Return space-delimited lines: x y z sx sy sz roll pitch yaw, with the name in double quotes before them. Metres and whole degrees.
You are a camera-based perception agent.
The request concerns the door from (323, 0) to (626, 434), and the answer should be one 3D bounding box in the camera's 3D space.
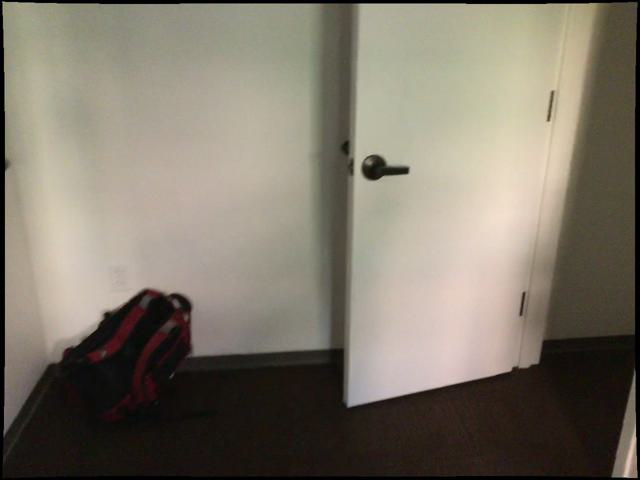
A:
"door" 0.549 -0.371 2.090 1.068 2.085 0.230 -9 22 -22
